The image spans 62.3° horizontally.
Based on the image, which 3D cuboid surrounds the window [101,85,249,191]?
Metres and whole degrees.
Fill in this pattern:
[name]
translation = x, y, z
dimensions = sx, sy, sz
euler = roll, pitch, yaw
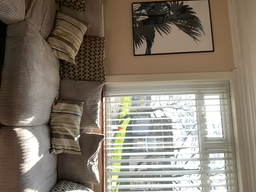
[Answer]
[window]
translation = 0.560, 0.710, 2.770
dimensions = 0.270, 1.770, 1.630
euler = 82, 7, -81
